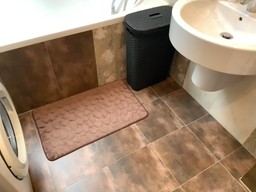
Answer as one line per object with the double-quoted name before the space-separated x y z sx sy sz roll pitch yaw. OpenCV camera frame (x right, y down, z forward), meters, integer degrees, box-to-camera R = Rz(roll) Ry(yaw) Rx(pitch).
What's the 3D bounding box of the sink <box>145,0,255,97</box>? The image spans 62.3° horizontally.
"sink" 0.450 -0.320 1.060 0.480 0.150 0.590 -21 51 -21
